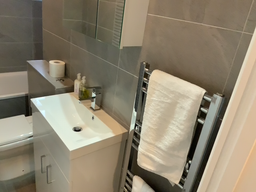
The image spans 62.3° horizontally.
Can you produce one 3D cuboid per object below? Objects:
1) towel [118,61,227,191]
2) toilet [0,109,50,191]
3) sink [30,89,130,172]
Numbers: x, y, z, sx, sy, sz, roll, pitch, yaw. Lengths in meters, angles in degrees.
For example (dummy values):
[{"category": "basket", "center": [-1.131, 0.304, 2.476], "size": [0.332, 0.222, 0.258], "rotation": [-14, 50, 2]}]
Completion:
[{"category": "towel", "center": [0.150, 0.140, 0.890], "size": [0.150, 0.490, 0.320], "rotation": [-15, 33, -42]}, {"category": "toilet", "center": [-1.020, 0.460, 1.860], "size": [0.510, 0.470, 0.420], "rotation": [-12, 31, -38]}, {"category": "sink", "center": [-0.330, 0.160, 1.330], "size": [0.360, 0.130, 0.620], "rotation": [-12, 31, -38]}]
